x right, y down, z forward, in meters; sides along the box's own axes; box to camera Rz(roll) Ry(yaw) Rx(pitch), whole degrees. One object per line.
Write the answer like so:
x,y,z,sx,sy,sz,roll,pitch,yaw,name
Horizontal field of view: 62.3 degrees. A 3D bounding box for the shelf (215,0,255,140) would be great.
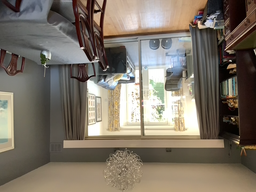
1.600,-0.390,3.100,0.320,1.900,0.900,-2,177,10,shelf
